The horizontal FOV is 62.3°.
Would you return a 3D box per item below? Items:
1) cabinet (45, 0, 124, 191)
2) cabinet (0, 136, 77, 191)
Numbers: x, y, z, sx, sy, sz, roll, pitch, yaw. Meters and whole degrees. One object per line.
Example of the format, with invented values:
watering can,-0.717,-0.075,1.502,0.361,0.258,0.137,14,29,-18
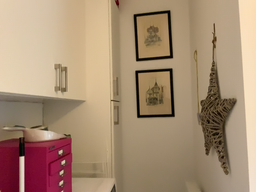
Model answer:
cabinet,-0.370,0.260,1.940,0.570,2.340,0.450,-1,-3,8
cabinet,-0.550,0.410,1.150,0.440,0.340,0.330,-1,-3,8
